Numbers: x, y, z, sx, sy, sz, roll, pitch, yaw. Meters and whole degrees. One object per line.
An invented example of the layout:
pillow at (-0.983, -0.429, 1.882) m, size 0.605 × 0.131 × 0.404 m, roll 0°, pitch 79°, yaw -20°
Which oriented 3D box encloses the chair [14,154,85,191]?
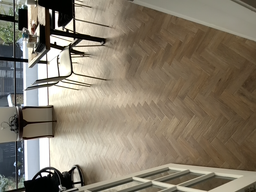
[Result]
chair at (-1.300, 1.450, 3.510) m, size 0.710 × 0.930 × 0.710 m, roll -6°, pitch 85°, yaw 53°
